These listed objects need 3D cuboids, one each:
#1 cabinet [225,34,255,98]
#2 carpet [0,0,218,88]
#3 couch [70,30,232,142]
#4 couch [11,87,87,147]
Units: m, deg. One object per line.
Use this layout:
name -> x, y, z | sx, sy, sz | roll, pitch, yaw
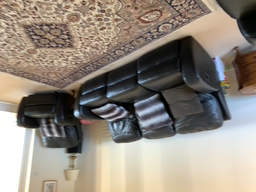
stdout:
cabinet -> 1.590, -0.360, 2.650 | 0.460, 0.600, 0.510 | -16, 156, 38
carpet -> -0.780, -0.710, 2.310 | 2.830, 0.050, 1.800 | -18, 155, 39
couch -> 0.200, 0.080, 3.160 | 2.110, 0.950, 0.990 | -17, 156, 39
couch -> -1.470, 0.480, 4.200 | 0.940, 0.930, 1.060 | -5, 162, 10
